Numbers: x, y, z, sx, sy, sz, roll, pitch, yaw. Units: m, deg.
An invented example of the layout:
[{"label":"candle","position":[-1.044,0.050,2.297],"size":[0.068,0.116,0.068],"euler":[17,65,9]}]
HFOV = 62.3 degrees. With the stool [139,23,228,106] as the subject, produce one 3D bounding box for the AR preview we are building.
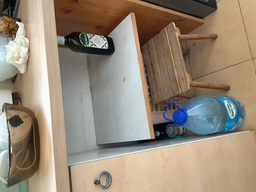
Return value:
[{"label":"stool","position":[0.260,-0.130,1.030],"size":[0.220,0.300,0.310],"euler":[-26,69,54]}]
